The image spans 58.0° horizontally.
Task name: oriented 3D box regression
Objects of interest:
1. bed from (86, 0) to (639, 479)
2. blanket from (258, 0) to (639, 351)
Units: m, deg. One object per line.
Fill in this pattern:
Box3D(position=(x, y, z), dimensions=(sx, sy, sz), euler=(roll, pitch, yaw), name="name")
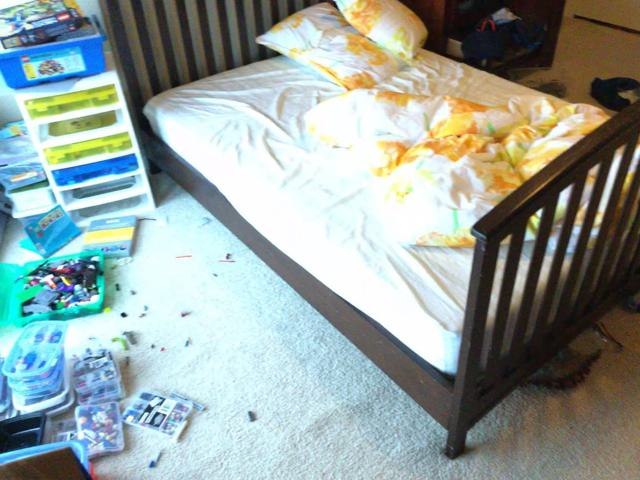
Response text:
Box3D(position=(0.260, -0.600, 2.070), dimensions=(1.440, 1.230, 2.050), euler=(-28, 44, -24), name="bed")
Box3D(position=(0.590, -0.390, 1.900), dimensions=(1.090, 0.400, 1.170), euler=(-28, 44, -24), name="blanket")
